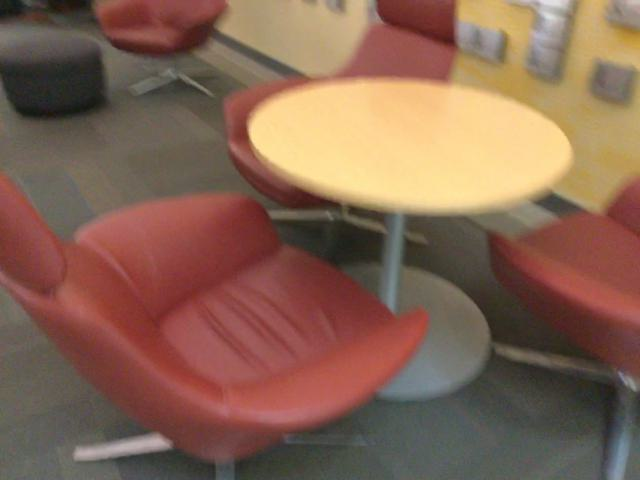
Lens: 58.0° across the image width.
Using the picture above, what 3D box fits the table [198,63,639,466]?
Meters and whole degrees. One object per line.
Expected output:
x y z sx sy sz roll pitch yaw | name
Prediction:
0.240 -0.040 1.840 0.900 0.700 0.900 -18 37 -27 | table
